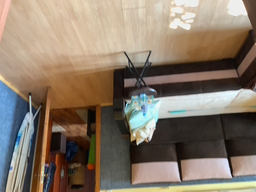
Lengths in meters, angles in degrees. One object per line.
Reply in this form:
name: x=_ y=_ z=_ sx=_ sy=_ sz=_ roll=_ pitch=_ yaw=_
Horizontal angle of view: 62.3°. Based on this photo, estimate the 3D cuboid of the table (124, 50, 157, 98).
table: x=0.120 y=-0.230 z=2.280 sx=0.310 sy=0.430 sz=0.250 roll=-3 pitch=156 yaw=-1
